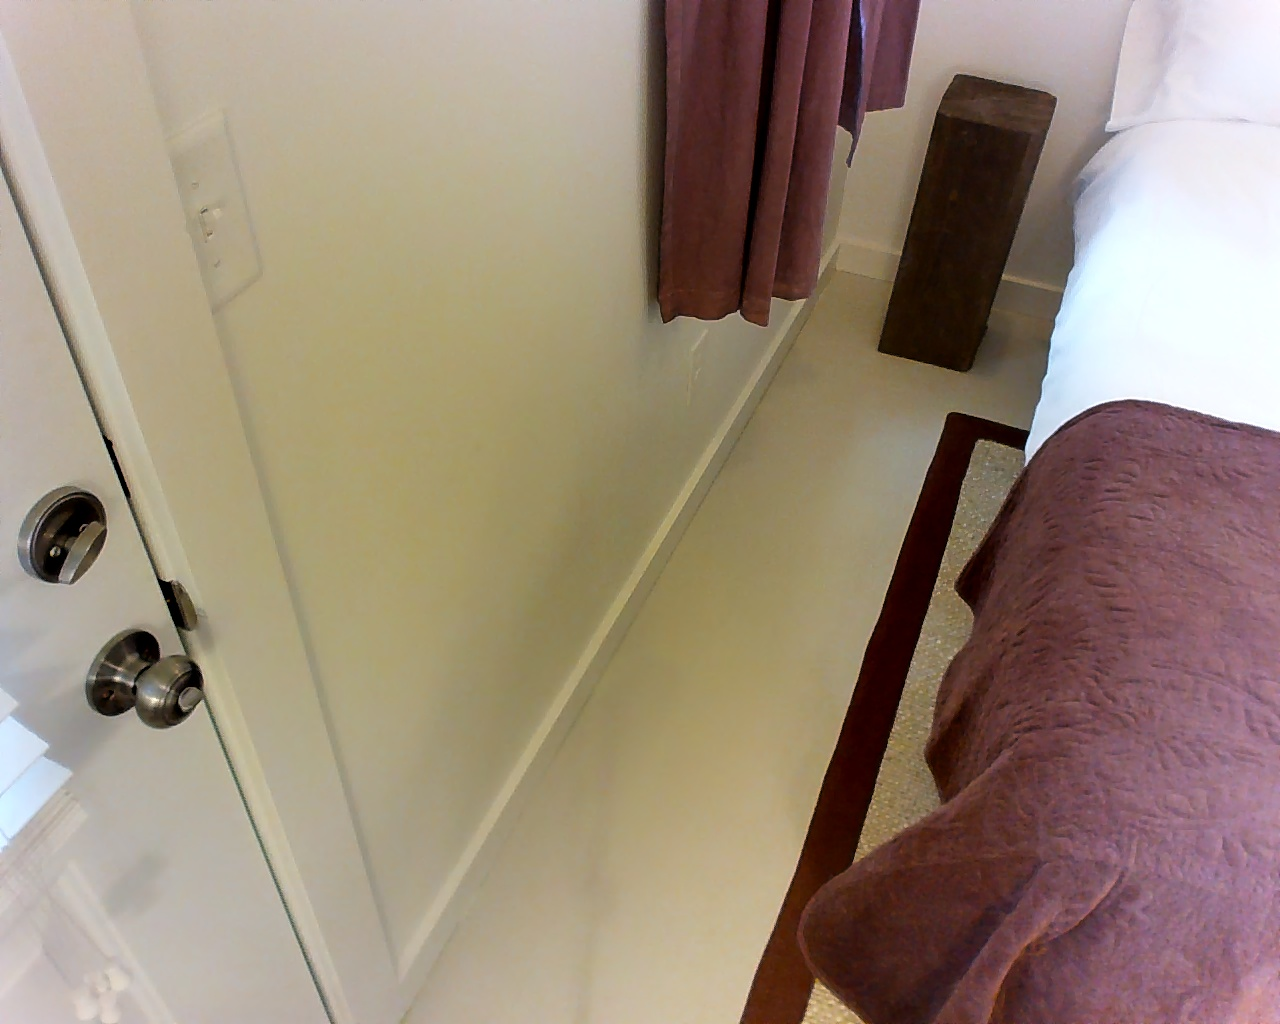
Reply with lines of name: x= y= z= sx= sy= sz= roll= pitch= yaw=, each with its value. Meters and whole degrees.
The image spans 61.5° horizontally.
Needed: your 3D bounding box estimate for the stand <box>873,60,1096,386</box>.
stand: x=0.830 y=-0.700 z=2.630 sx=0.320 sy=0.620 sz=0.370 roll=18 pitch=45 yaw=16
